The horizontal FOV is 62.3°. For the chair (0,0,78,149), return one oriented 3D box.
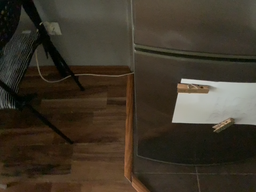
[{"bbox_3d":[-0.580,-0.100,0.910,0.480,0.810,0.390,-1,57,3],"label":"chair"}]
